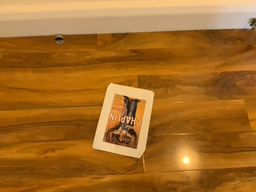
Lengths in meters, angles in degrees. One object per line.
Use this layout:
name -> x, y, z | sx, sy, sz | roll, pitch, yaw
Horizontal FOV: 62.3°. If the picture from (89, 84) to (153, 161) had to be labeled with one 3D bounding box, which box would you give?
picture -> -0.020, 0.100, 0.870 | 0.240, 0.030, 0.300 | 4, 68, 0
